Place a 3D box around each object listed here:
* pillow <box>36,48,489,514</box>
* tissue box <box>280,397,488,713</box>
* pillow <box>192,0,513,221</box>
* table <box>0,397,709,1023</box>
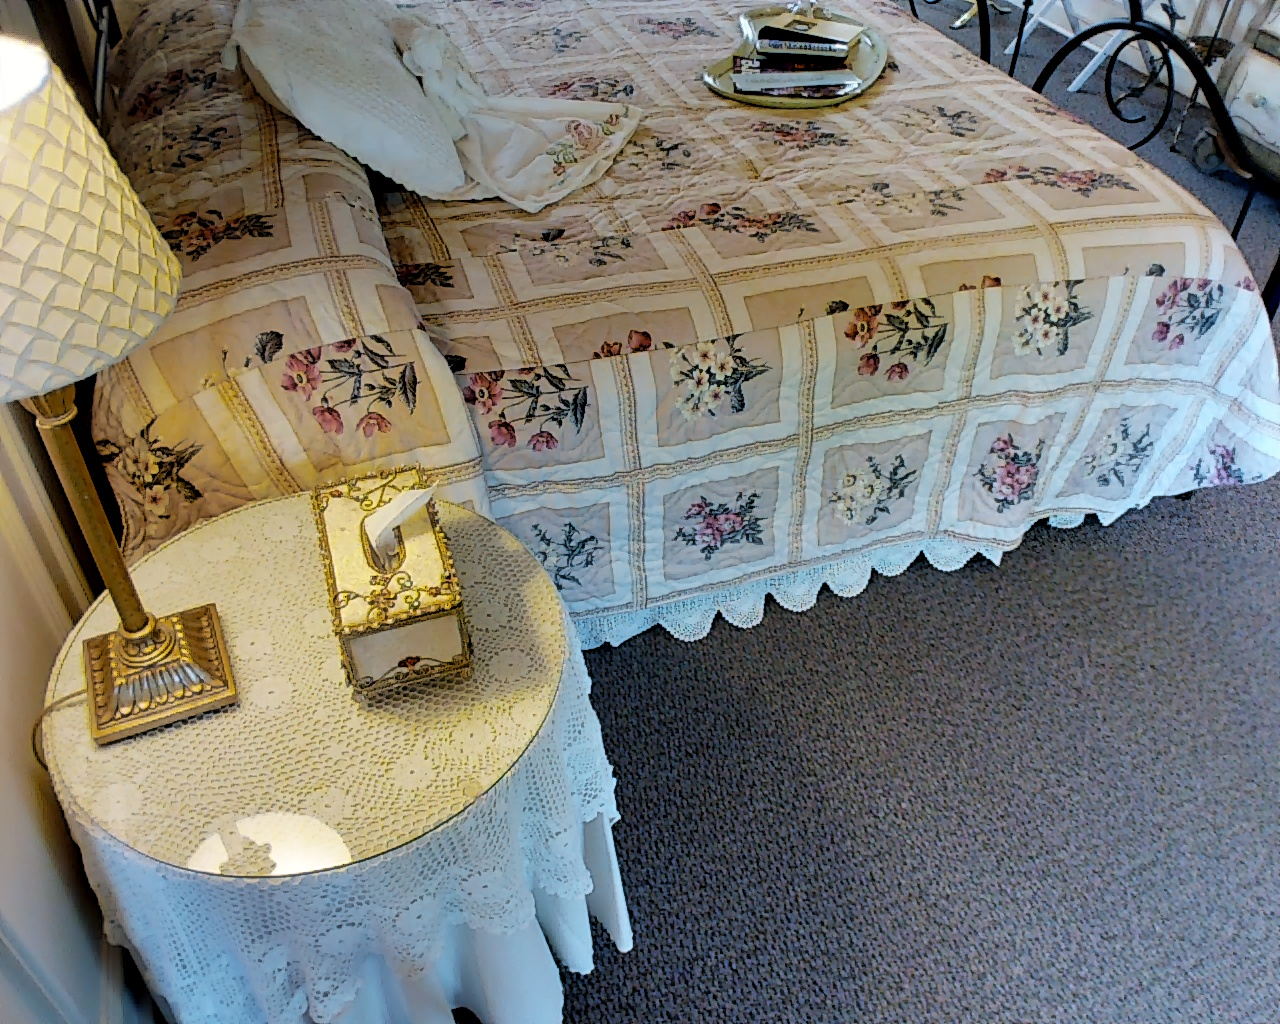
[{"bbox_3d":[-0.630,-0.450,1.750,0.530,0.210,1.000,-12,44,-16],"label":"pillow"},{"bbox_3d":[-0.310,0.040,1.290,0.170,0.170,0.330,-12,44,-16],"label":"tissue box"},{"bbox_3d":[-0.610,-0.950,2.150,0.490,0.290,0.890,-12,44,-16],"label":"pillow"},{"bbox_3d":[-0.380,0.350,1.480,0.700,0.600,0.750,-10,44,-13],"label":"table"}]
